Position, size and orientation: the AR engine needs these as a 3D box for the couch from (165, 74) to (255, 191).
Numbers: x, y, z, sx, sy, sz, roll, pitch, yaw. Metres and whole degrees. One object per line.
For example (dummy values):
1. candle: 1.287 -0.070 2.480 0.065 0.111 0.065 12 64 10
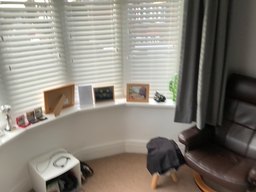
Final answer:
1. couch: 0.940 0.410 1.970 0.860 0.940 0.750 -19 29 -40

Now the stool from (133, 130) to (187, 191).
1. stool: 0.310 0.640 2.110 0.360 0.400 0.360 -20 29 -40
